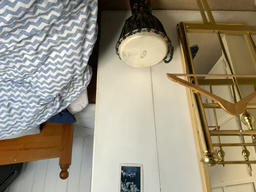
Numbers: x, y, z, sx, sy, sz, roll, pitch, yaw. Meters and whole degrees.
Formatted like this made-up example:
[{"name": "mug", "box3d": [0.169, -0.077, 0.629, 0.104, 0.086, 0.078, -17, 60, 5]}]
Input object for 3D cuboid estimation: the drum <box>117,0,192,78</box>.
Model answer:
[{"name": "drum", "box3d": [0.100, -0.390, 1.100, 0.300, 0.480, 0.330, -2, 154, -1]}]
